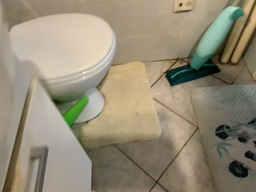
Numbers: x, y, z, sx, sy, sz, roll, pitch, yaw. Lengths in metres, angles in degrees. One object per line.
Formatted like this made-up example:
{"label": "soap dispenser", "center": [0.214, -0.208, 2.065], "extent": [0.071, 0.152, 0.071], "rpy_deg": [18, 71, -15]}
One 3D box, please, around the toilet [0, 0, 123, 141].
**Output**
{"label": "toilet", "center": [-0.380, -0.170, 0.840], "extent": [0.650, 0.750, 0.400], "rpy_deg": [-4, 57, 2]}
